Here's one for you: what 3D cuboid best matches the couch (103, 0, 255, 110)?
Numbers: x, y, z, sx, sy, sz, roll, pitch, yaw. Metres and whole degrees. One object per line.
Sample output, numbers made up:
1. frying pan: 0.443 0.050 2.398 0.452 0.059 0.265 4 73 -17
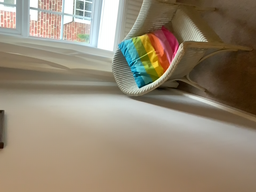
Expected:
1. couch: 0.340 -0.360 1.720 0.680 0.760 0.650 -56 45 44
